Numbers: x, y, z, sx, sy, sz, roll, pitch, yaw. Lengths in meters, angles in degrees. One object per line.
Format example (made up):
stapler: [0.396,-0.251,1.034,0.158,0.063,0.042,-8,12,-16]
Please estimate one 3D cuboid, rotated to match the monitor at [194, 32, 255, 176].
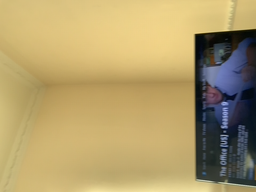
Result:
monitor: [0.910,0.090,1.630,0.070,0.760,1.110,-36,-56,-67]
